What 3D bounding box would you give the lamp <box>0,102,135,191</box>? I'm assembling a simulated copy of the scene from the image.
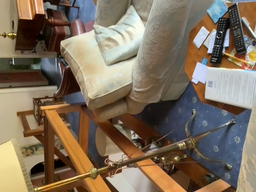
[{"bbox_3d":[-0.470,0.400,0.990,0.510,0.800,0.510,32,122,51],"label":"lamp"}]
